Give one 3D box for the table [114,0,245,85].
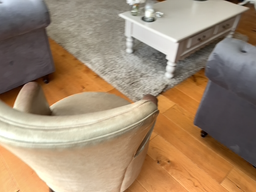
[{"bbox_3d":[0.570,-0.720,2.320,1.270,0.470,0.700,-29,52,-33],"label":"table"}]
